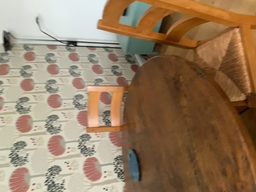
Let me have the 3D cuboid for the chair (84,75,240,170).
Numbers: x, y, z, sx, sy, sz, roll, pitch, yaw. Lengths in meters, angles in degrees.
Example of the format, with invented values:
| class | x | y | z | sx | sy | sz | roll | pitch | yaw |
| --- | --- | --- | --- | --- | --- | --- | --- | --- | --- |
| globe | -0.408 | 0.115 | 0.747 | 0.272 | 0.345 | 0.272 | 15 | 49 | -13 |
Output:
| class | x | y | z | sx | sy | sz | roll | pitch | yaw |
| --- | --- | --- | --- | --- | --- | --- | --- | --- | --- |
| chair | 0.220 | 0.130 | 1.680 | 0.560 | 1.030 | 0.480 | -141 | 51 | -64 |

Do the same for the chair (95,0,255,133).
| class | x | y | z | sx | sy | sz | roll | pitch | yaw |
| --- | --- | --- | --- | --- | --- | --- | --- | --- | --- |
| chair | 0.400 | -0.170 | 1.130 | 0.450 | 1.040 | 0.580 | 165 | 101 | -70 |
